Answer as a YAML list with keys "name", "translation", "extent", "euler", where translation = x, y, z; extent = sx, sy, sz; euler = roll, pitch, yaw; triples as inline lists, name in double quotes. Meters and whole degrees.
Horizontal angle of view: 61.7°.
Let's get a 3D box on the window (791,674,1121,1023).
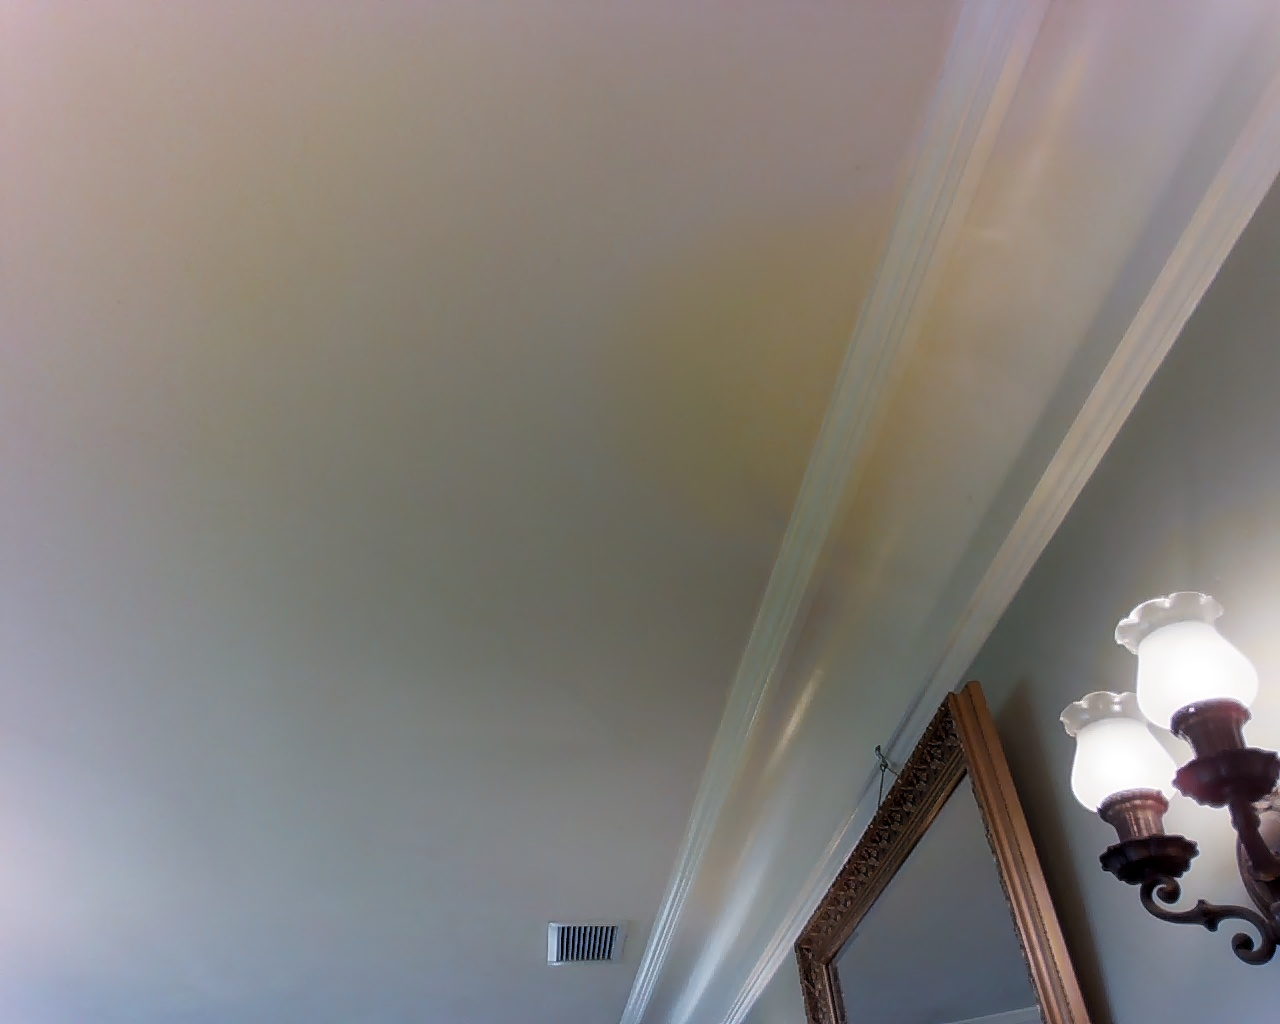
- name: "window"
  translation: [0.450, 0.900, 1.710]
  extent: [0.120, 0.810, 1.090]
  euler: [4, -41, -4]
